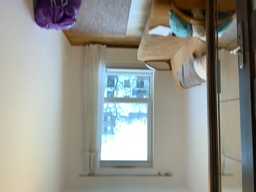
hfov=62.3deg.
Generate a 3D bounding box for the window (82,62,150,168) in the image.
[{"bbox_3d":[-0.230,0.390,4.430,1.300,2.060,0.430,2,174,-7],"label":"window"}]

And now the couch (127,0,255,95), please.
[{"bbox_3d":[0.570,-0.630,2.870,1.000,0.990,2.040,2,174,-4],"label":"couch"}]
